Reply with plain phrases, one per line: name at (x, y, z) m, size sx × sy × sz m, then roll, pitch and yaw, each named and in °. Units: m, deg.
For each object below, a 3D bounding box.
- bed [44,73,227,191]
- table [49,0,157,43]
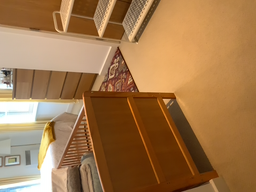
bed at (-0.180, 0.710, 1.960) m, size 1.630 × 0.840 × 0.900 m, roll -58°, pitch 43°, yaw 42°
table at (-0.240, -0.930, 2.050) m, size 0.620 × 0.870 × 0.360 m, roll -57°, pitch 43°, yaw 43°
